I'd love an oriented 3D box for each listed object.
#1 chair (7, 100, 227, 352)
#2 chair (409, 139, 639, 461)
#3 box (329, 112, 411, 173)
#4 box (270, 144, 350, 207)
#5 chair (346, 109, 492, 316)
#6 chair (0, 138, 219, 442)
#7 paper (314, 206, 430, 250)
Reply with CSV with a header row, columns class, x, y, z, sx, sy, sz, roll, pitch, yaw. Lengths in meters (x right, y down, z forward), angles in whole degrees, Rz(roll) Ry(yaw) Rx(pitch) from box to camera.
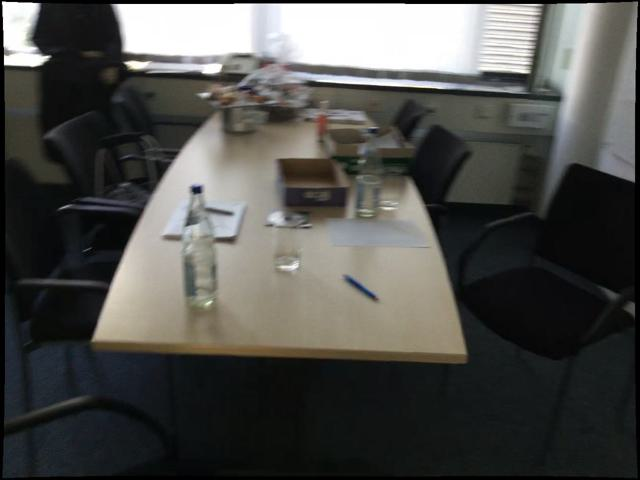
class,x,y,z,sx,sy,sz,roll,pitch,yaw
chair,-0.719,-0.080,2.310,0.579,0.791,0.670,1,26,-2
chair,0.819,0.130,1.970,0.700,0.701,0.660,-16,31,-32
box,0.190,-0.400,2.340,0.290,0.150,0.330,-1,26,-2
box,-0.040,-0.240,2.080,0.260,0.090,0.390,1,26,-2
chair,0.370,-0.130,2.450,0.450,0.711,0.540,1,26,-3
chair,-0.709,0.140,1.870,0.649,0.781,0.590,1,26,-2
paper,0.150,-0.040,1.780,0.330,0.040,0.230,1,26,-2
